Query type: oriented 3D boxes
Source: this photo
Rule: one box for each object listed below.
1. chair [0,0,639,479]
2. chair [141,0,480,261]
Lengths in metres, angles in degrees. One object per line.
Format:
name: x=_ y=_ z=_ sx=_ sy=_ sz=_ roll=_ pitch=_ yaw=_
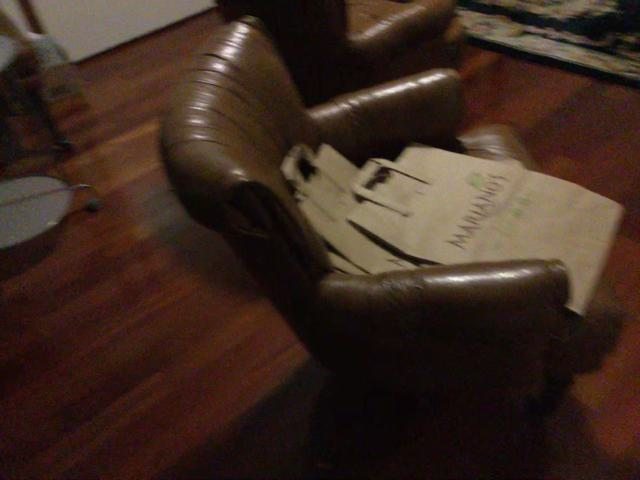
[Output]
chair: x=0.110 y=0.020 z=1.080 sx=0.760 sy=0.830 sz=0.750 roll=0 pitch=43 yaw=10
chair: x=-0.020 y=-0.560 z=1.730 sx=0.670 sy=0.810 sz=0.680 roll=-34 pitch=47 yaw=-24
